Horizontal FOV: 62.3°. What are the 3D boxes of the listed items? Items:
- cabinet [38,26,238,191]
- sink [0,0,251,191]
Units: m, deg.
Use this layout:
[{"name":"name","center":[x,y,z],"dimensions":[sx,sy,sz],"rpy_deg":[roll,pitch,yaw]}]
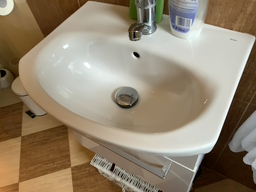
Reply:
[{"name":"cabinet","center":[0.040,0.090,0.790],"dimensions":[0.480,0.480,0.300],"rpy_deg":[23,59,21]},{"name":"sink","center":[-0.010,-0.050,0.560],"dimensions":[0.490,0.150,0.380],"rpy_deg":[23,59,21]}]
